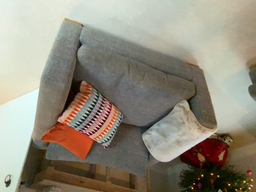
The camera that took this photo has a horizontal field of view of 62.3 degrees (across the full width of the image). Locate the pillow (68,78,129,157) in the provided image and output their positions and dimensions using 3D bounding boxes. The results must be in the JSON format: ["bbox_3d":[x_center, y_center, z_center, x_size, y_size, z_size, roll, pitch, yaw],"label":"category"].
[{"bbox_3d":[-0.230,0.180,1.710,0.120,0.350,0.600,-34,127,-3],"label":"pillow"}]
